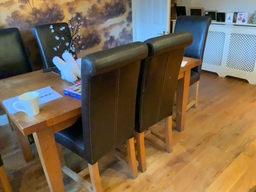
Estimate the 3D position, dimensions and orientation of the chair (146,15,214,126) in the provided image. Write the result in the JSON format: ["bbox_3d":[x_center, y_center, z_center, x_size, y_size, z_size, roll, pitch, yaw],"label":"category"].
[{"bbox_3d":[0.590,-0.330,2.510,0.450,1.120,0.610,21,34,41],"label":"chair"}]

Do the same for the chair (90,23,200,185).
[{"bbox_3d":[0.120,0.020,1.790,0.460,1.130,0.670,-22,32,-36],"label":"chair"}]

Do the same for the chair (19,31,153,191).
[{"bbox_3d":[-0.250,0.180,1.500,0.690,1.130,0.470,21,33,40],"label":"chair"}]

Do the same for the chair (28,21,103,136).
[{"bbox_3d":[-0.670,-0.220,2.380,0.430,1.110,0.560,-24,33,-39],"label":"chair"}]

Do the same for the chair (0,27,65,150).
[{"bbox_3d":[-1.130,-0.120,2.240,0.480,1.080,0.660,-24,33,-39],"label":"chair"}]
